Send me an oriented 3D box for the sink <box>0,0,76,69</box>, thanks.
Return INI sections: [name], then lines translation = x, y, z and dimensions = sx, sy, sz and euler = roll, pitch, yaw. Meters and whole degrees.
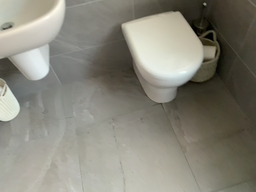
[sink]
translation = -0.540, -0.330, 0.850
dimensions = 0.580, 0.160, 0.480
euler = -14, 55, -5
